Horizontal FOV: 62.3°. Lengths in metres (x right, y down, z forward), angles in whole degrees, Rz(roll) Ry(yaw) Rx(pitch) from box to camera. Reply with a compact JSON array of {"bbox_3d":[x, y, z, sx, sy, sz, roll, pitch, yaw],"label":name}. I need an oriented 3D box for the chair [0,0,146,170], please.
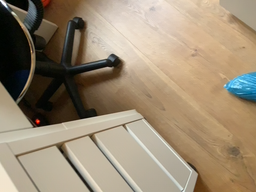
[{"bbox_3d":[-0.470,-0.140,0.750,0.580,0.910,0.580,-47,73,16],"label":"chair"}]
